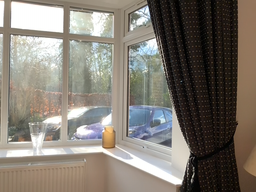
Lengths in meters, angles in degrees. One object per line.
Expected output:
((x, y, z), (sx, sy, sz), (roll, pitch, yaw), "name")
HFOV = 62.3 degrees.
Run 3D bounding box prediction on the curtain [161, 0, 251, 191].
((0.510, 0.130, 1.400), (0.540, 2.310, 0.160), (1, 0, -13), "curtain")
